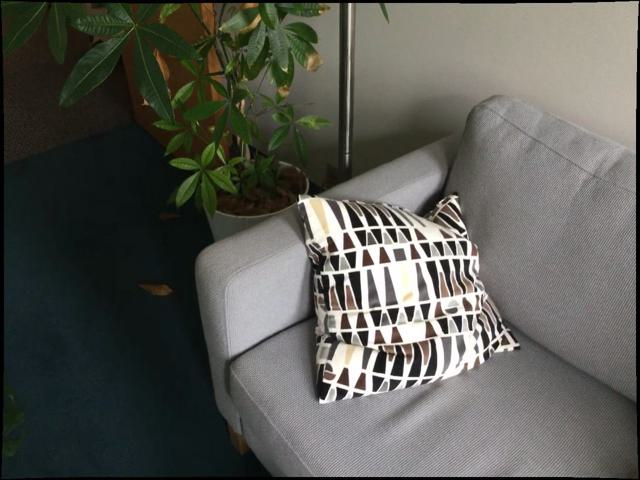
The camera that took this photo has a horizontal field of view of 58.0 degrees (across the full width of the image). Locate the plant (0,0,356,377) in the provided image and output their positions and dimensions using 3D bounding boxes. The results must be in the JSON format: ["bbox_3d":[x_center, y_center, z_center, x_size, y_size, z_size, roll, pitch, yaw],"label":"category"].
[{"bbox_3d":[-0.419,-0.441,1.620,0.749,1.342,0.690,-28,46,-25],"label":"plant"}]

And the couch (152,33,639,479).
[{"bbox_3d":[0.379,0.211,1.220,0.919,0.771,1.030,-28,46,-25],"label":"couch"}]
